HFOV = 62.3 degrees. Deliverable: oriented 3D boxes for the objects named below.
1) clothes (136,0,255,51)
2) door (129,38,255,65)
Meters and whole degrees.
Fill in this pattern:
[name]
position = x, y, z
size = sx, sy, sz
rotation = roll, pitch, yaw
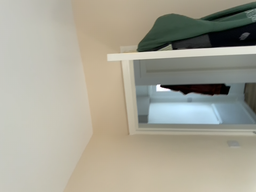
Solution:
[clothes]
position = 0.650, -0.430, 1.280
size = 0.840, 1.110, 0.240
rotation = -51, -41, -77
[door]
position = 0.970, -0.290, 1.270
size = 0.830, 1.830, 0.090
rotation = -53, -39, -76
